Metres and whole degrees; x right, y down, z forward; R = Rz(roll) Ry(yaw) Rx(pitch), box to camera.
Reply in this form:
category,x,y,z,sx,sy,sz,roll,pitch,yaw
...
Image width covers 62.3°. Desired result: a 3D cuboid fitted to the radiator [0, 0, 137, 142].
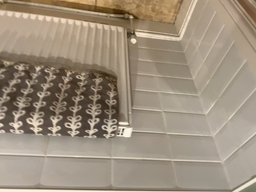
category,x,y,z,sx,sy,sz,roll,pitch,yaw
radiator,-0.340,-0.150,0.800,0.700,0.640,0.090,4,139,-9
